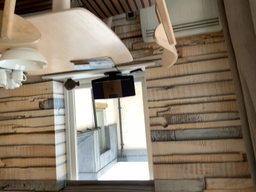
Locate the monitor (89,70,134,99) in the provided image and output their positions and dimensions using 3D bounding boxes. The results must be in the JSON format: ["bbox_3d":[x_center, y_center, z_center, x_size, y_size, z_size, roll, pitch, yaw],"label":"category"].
[{"bbox_3d":[-0.150,-0.100,1.860,0.390,0.230,0.030,4,178,15],"label":"monitor"}]
